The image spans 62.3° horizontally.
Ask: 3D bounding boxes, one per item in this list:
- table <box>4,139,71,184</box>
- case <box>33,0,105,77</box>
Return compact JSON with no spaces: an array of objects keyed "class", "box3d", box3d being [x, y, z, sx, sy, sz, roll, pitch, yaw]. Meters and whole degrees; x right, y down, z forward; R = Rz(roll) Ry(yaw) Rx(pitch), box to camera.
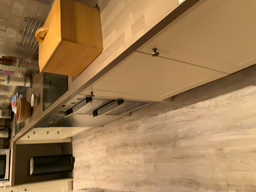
[{"class":"table","box3d":[-1.480,1.060,3.500,0.550,0.900,0.590,-27,64,50]},{"class":"case","box3d":[-0.310,-0.310,1.060,0.340,0.230,0.300,-26,65,50]}]
